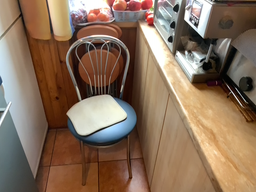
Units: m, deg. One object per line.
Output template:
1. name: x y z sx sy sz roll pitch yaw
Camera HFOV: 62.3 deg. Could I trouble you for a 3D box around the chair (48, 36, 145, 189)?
1. chair: -0.170 0.120 1.320 0.400 0.830 0.470 -1 37 -6
